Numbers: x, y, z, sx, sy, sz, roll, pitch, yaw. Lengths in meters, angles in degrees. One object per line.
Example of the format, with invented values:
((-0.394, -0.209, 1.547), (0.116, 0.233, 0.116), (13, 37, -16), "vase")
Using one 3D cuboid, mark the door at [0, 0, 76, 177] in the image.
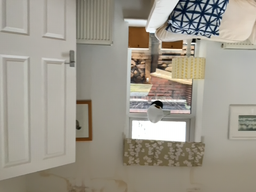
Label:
((-0.810, -0.350, 1.830), (0.740, 2.010, 0.040), (-2, -174, -40), "door")
